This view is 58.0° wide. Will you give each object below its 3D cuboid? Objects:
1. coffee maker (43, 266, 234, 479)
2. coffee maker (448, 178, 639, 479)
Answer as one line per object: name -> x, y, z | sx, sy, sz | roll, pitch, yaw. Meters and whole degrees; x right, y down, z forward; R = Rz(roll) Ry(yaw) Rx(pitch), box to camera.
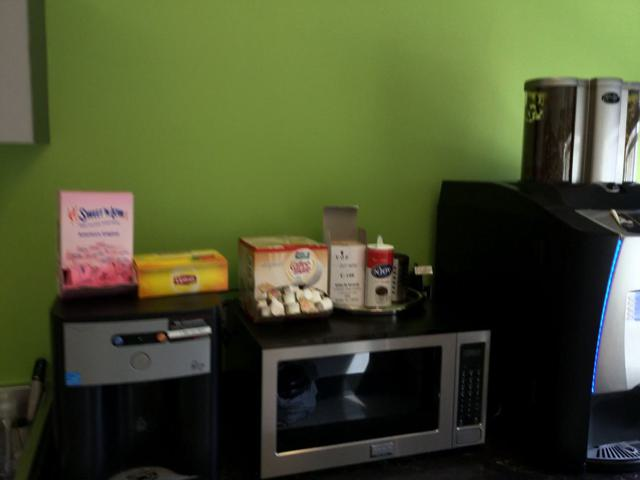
coffee maker -> -0.400, 0.320, 1.290 | 0.350, 0.470, 0.340 | -1, 7, -19
coffee maker -> 0.690, 0.190, 1.540 | 0.510, 0.690, 0.410 | -1, 7, -19
